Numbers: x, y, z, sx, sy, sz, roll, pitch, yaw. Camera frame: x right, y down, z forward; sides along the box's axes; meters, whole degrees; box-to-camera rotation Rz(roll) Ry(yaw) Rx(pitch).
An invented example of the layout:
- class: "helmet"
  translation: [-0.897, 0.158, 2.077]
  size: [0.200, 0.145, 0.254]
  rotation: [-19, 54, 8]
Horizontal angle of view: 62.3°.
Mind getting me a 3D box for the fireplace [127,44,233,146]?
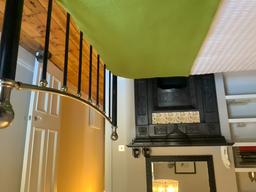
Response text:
- class: "fireplace"
  translation: [0.620, 0.020, 2.810]
  size: [1.200, 1.240, 0.390]
  rotation: [-2, 167, 8]
